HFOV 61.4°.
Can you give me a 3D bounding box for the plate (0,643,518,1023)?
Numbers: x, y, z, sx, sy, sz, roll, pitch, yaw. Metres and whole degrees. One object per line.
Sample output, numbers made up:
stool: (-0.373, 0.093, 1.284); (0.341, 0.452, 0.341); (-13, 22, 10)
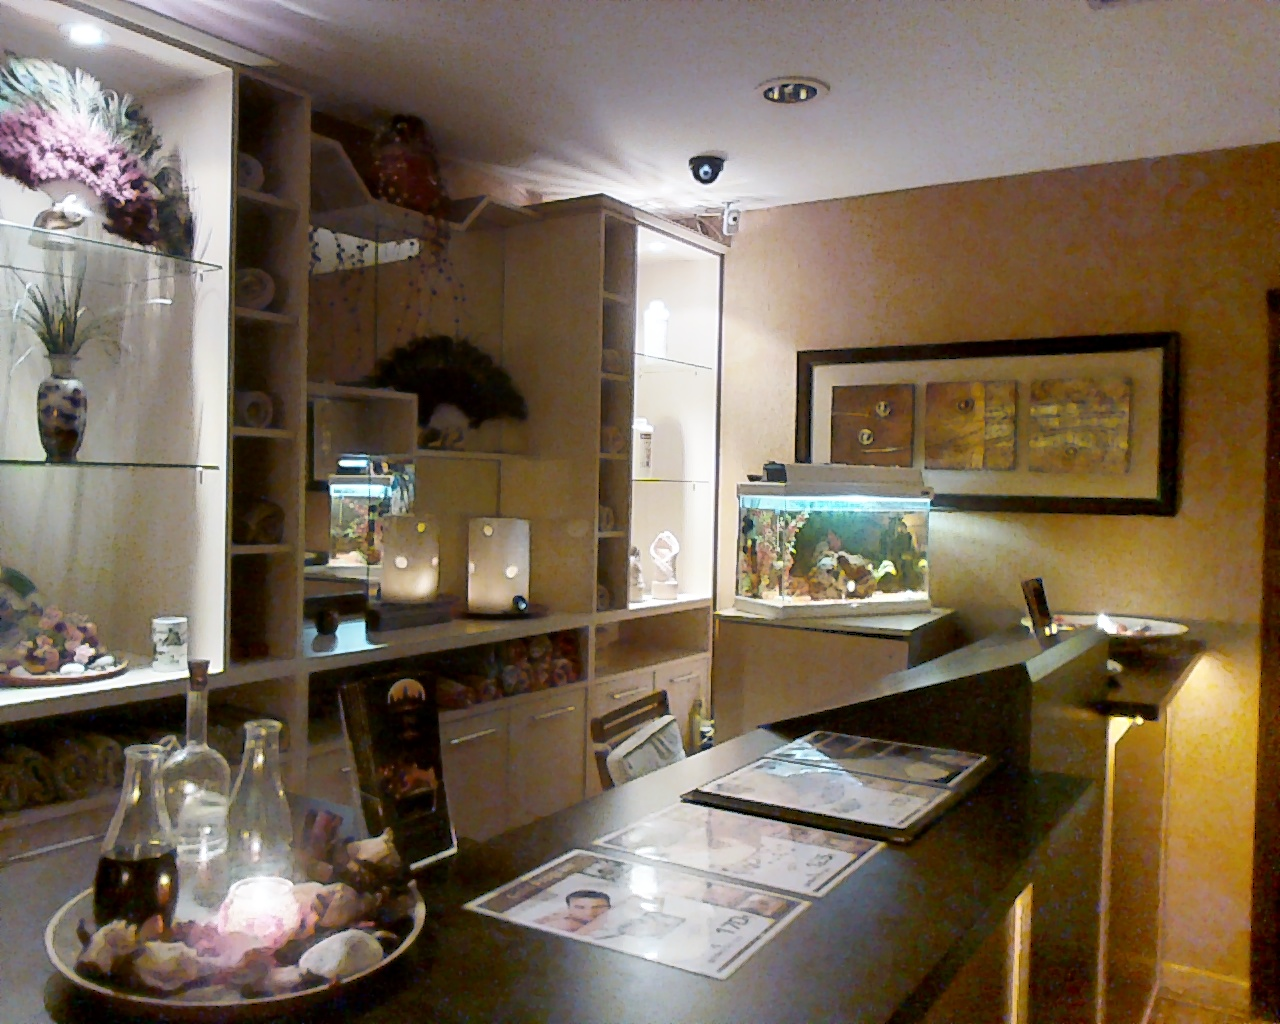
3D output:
plate: (-0.360, 0.290, 1.010); (0.320, 0.270, 0.370); (1, 1, 34)
